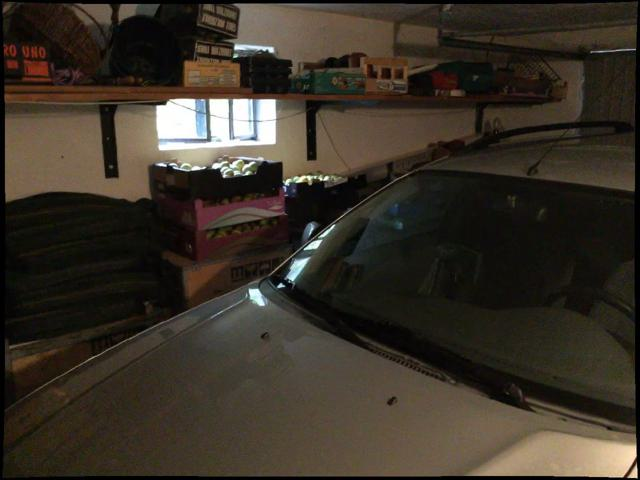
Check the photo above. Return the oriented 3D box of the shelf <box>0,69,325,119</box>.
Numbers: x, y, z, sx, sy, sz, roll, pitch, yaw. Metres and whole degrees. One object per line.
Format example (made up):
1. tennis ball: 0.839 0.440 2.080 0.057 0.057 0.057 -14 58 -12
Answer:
1. shelf: -1.109 -0.581 2.300 2.638 0.170 0.370 -12 18 -38
